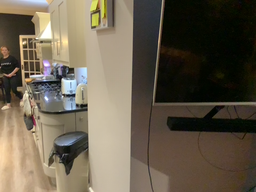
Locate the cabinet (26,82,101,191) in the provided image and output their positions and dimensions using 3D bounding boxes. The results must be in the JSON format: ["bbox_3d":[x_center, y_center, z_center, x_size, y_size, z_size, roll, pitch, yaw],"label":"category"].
[{"bbox_3d":[-1.070,0.400,3.160,0.620,0.910,2.000,-5,14,-28],"label":"cabinet"}]
